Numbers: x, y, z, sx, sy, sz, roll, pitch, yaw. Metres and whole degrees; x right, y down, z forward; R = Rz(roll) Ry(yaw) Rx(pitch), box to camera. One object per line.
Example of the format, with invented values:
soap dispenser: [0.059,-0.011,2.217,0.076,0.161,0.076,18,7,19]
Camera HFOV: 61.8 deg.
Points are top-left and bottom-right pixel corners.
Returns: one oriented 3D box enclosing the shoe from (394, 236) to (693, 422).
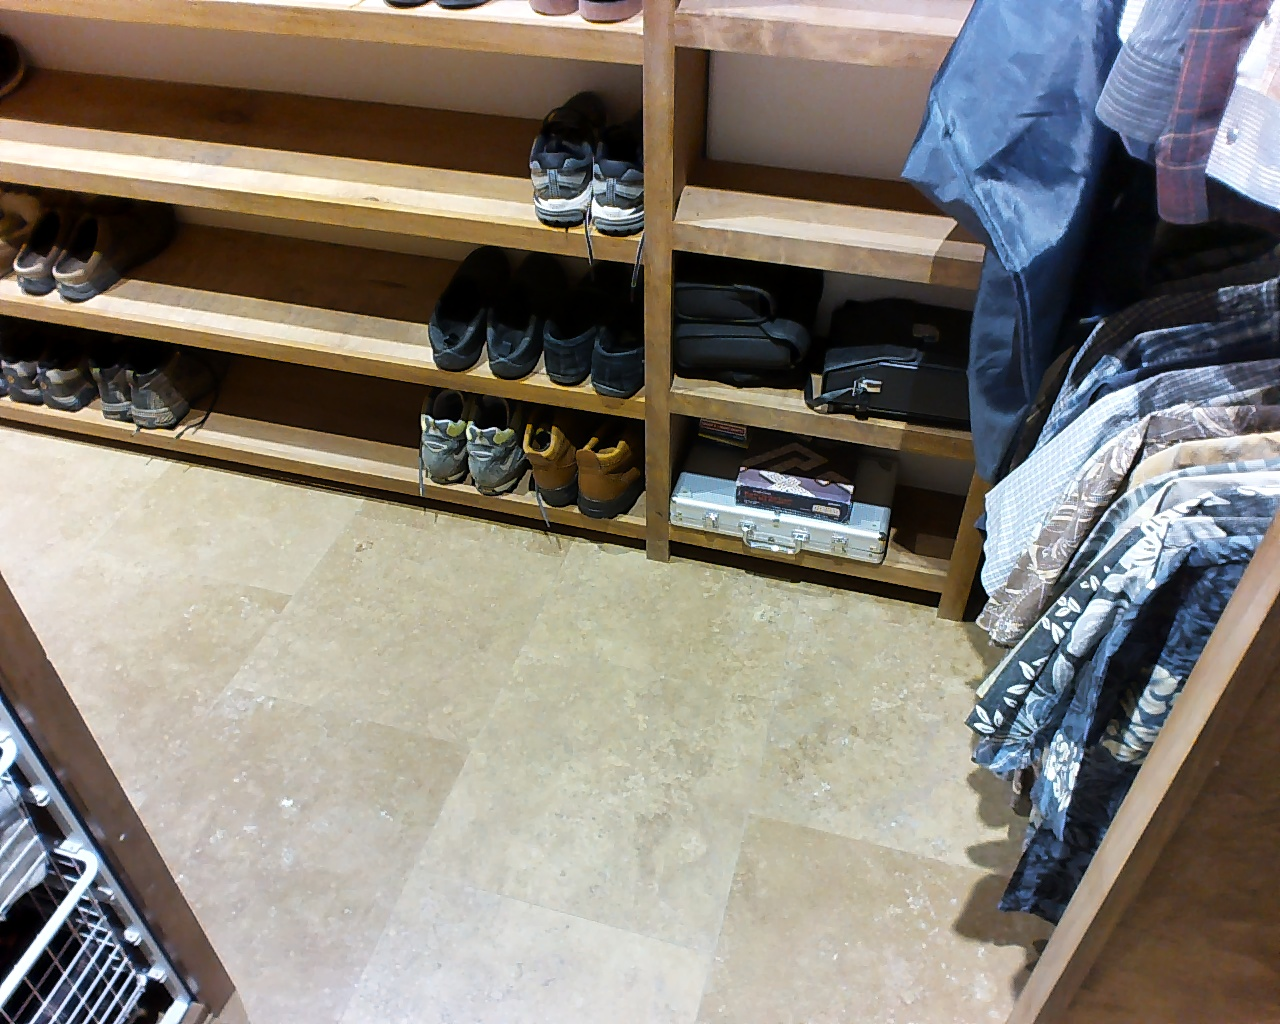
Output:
shoe: [-0.160,-0.340,1.930,0.450,0.140,0.310,9,42,12]

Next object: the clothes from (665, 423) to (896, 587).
clothes: [0.260,-0.020,1.970,0.380,0.120,0.240,9,42,12]

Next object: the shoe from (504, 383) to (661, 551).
shoe: [-0.100,-0.090,2.040,0.230,0.180,0.240,9,42,12]

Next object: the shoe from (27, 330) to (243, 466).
shoe: [-1.070,-0.250,2.290,0.300,0.120,0.270,9,42,12]

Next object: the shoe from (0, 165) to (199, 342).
shoe: [-1.210,-0.530,2.140,0.490,0.180,0.310,9,42,12]

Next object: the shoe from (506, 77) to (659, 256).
shoe: [-0.080,-0.560,1.710,0.190,0.140,0.350,3,41,5]

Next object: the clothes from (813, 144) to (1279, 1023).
clothes: [0.530,0.180,1.290,0.470,0.900,0.830,10,42,12]

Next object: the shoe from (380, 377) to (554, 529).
shoe: [-0.330,-0.120,2.100,0.250,0.150,0.240,9,42,12]

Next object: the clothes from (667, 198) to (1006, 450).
clothes: [0.310,-0.310,1.730,0.490,0.260,0.240,9,42,12]
